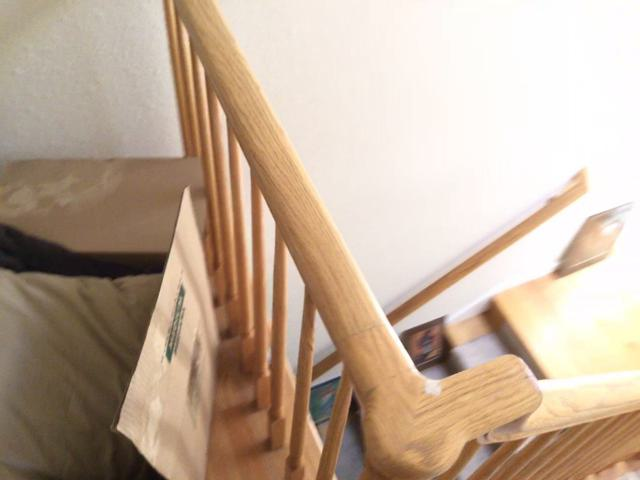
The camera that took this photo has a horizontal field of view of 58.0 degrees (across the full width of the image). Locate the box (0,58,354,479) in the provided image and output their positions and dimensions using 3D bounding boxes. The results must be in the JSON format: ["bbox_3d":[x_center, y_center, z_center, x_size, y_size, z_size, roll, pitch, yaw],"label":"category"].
[{"bbox_3d":[-0.500,0.240,1.180,0.710,0.660,0.970,-14,55,-18],"label":"box"}]

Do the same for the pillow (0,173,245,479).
[{"bbox_3d":[-0.540,0.240,1.080,0.670,0.360,0.500,-14,55,-18],"label":"pillow"}]
